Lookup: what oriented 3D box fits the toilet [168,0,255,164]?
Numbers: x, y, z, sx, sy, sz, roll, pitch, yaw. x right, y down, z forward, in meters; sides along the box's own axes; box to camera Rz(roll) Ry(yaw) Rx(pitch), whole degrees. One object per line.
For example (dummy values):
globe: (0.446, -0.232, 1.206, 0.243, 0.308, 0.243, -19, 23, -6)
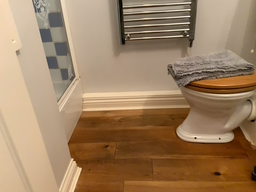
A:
toilet: (0.580, -0.170, 1.120, 0.630, 0.940, 0.500, -1, 29, 4)
